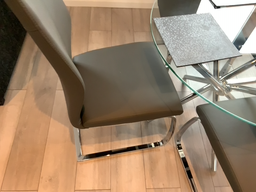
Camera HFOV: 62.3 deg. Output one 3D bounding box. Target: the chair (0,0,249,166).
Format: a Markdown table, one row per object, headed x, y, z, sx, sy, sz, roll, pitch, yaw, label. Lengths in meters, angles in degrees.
| x | y | z | sx | sy | sz | roll | pitch | yaw | label |
| --- | --- | --- | --- | --- | --- | --- | --- | --- | --- |
| -0.070 | -0.110 | 0.940 | 0.560 | 1.010 | 0.440 | -9 | 58 | -11 | chair |
